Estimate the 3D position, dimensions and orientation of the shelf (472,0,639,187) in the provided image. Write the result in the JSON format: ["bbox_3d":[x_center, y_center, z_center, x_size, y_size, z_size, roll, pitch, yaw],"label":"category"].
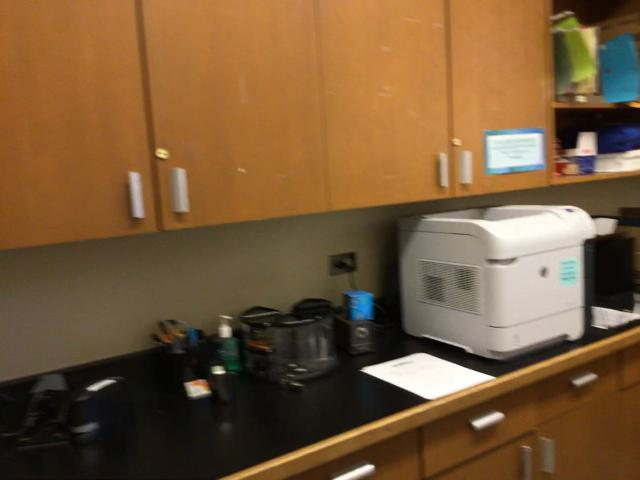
[{"bbox_3d":[1.310,-0.900,2.290,1.420,1.220,0.500,-9,6,-29],"label":"shelf"}]

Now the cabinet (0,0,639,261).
[{"bbox_3d":[0.110,-0.630,1.540,2.330,1.090,0.110,-9,6,-29],"label":"cabinet"}]

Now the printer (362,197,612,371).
[{"bbox_3d":[0.510,0.100,1.860,0.460,0.410,0.590,-9,6,-29],"label":"printer"}]
